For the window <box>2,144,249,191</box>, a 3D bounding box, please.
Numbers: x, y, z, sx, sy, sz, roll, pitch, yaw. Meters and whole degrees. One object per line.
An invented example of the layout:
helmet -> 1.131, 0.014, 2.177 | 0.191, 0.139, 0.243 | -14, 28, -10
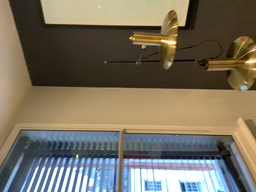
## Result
window -> 0.000, 0.600, 1.470 | 0.610, 1.590, 0.090 | -91, 3, -56
